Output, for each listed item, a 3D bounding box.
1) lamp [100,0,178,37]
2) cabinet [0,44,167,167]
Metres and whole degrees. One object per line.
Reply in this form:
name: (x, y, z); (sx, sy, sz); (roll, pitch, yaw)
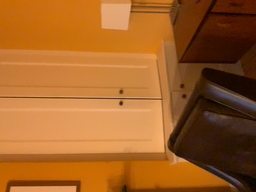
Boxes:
lamp: (0.070, -0.650, 1.710); (0.280, 0.570, 0.180); (103, 166, -65)
cabinet: (-0.610, 0.080, 2.140); (0.330, 1.850, 1.160); (104, 166, -66)
